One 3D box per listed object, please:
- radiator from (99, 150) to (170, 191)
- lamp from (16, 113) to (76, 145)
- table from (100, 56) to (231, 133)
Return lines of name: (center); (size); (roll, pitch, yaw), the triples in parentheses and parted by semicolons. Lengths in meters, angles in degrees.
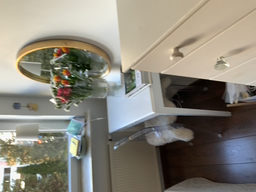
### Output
radiator: (0.110, 1.160, 2.120); (0.200, 0.700, 1.140); (-33, 58, 56)
lamp: (-0.790, 0.310, 2.040); (0.220, 0.500, 0.190); (55, 133, 49)
table: (0.280, 0.060, 1.920); (0.810, 0.790, 0.400); (-32, 59, 56)
